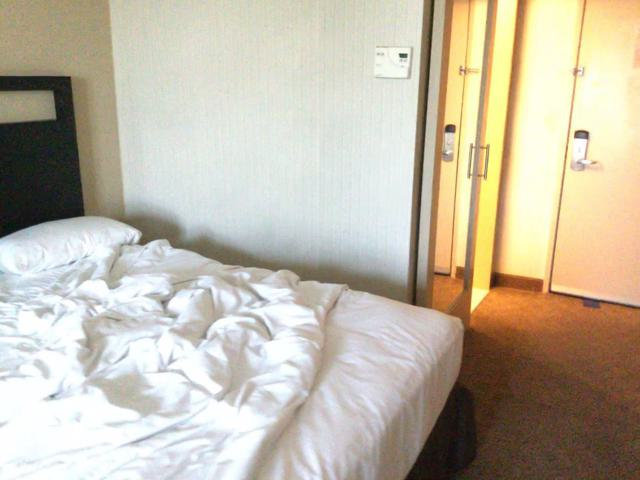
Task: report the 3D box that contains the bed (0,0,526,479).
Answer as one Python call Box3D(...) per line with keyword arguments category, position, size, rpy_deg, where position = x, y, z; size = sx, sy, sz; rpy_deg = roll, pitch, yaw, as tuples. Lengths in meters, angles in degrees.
Box3D(category="bed", position=(-0.730, 0.230, 1.810), size=(2.200, 1.510, 1.800), rpy_deg=(7, 15, 28))

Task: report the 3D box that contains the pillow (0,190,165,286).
Box3D(category="pillow", position=(-1.130, -0.040, 2.560), size=(0.520, 0.240, 0.680), rpy_deg=(7, 15, 28))
